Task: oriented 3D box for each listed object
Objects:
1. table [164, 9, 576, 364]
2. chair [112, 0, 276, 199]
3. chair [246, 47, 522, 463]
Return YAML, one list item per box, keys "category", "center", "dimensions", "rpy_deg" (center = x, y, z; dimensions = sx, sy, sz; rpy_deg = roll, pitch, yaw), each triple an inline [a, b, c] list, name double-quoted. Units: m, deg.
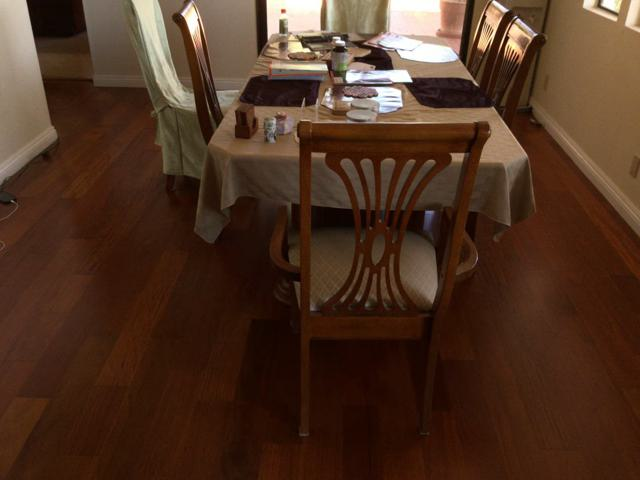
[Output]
- category: "table"
  center: [0.180, -0.490, 2.860]
  dimensions: [1.210, 0.900, 2.160]
  rpy_deg: [2, 30, 2]
- category: "chair"
  center: [-0.640, -0.840, 3.250]
  dimensions: [0.700, 1.050, 0.580]
  rpy_deg: [2, 30, 2]
- category: "chair"
  center: [0.140, 0.020, 1.800]
  dimensions: [0.580, 1.040, 0.750]
  rpy_deg: [2, 30, 2]
